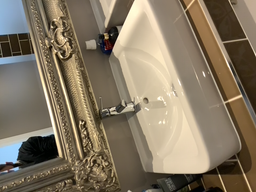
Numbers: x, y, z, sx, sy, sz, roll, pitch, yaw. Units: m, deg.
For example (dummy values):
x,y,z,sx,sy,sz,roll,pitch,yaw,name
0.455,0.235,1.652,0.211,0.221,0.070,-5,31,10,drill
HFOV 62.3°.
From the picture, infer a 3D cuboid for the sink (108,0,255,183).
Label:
x,y,z,sx,sy,sz,roll,pitch,yaw,name
0.130,-0.020,0.770,0.440,0.160,0.580,135,120,-64,sink
